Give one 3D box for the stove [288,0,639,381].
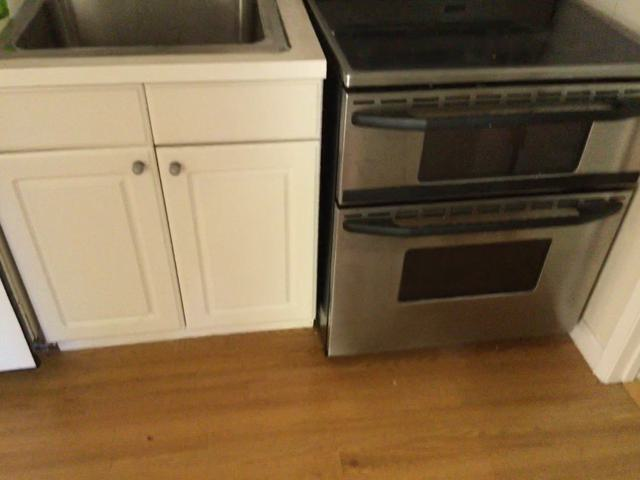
[{"bbox_3d":[0.370,-0.320,1.610,0.820,1.110,0.750,-5,37,-8],"label":"stove"}]
